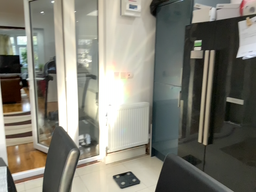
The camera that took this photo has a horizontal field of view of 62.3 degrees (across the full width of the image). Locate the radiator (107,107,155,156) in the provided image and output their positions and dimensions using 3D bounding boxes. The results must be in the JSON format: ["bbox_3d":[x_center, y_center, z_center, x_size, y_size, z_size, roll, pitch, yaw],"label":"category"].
[{"bbox_3d":[0.050,0.470,2.960,0.660,0.530,0.200,-6,12,-33],"label":"radiator"}]
